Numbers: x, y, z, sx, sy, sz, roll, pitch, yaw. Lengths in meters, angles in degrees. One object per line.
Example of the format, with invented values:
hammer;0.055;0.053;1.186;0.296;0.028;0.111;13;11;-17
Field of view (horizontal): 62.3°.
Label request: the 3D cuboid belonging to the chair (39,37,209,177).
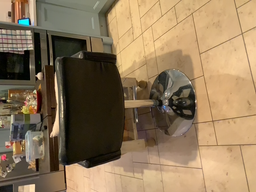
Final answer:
chair;-0.040;0.060;1.440;0.620;0.960;0.610;-5;85;58
